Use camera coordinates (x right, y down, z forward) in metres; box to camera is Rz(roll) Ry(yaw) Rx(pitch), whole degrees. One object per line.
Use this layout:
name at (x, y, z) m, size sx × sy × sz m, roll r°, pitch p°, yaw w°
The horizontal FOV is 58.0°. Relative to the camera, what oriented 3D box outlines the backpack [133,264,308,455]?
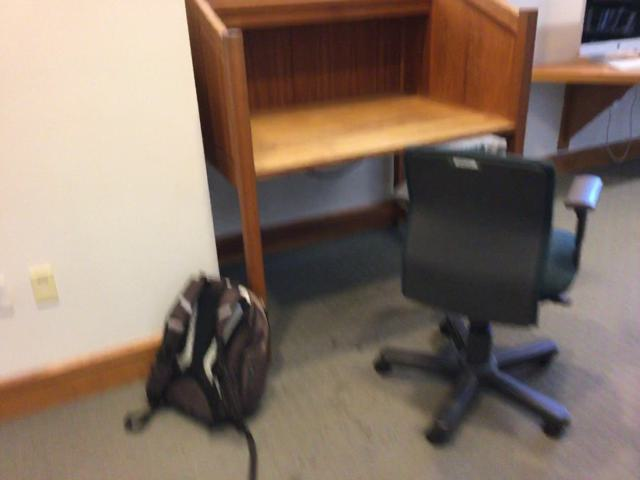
backpack at (-0.350, 0.380, 1.990) m, size 0.410 × 0.420 × 0.370 m, roll 24°, pitch 23°, yaw 35°
